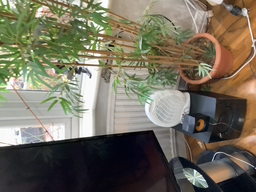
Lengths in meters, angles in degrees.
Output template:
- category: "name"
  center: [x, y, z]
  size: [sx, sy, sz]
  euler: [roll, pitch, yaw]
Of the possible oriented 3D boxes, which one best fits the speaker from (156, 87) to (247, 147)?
- category: "speaker"
  center: [0.460, 0.110, 1.370]
  size: [0.390, 0.350, 0.270]
  euler: [18, 104, 55]
